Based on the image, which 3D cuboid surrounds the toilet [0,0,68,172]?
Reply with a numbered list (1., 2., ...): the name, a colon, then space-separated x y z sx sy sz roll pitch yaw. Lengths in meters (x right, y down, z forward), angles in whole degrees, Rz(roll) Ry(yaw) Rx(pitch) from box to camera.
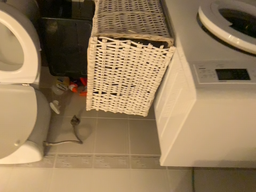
1. toilet: -0.620 -0.130 1.100 0.420 0.800 0.650 3 137 -6
